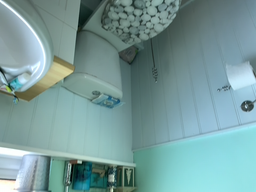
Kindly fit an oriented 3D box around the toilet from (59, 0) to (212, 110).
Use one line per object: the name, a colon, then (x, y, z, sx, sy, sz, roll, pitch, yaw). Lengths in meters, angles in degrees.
toilet: (0.000, -0.410, 1.230, 0.670, 0.740, 0.410, -25, 146, 38)
